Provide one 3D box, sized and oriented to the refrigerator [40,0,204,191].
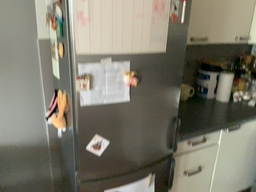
[{"bbox_3d":[-0.110,0.160,1.270,0.590,1.750,0.630,-8,22,-27],"label":"refrigerator"}]
